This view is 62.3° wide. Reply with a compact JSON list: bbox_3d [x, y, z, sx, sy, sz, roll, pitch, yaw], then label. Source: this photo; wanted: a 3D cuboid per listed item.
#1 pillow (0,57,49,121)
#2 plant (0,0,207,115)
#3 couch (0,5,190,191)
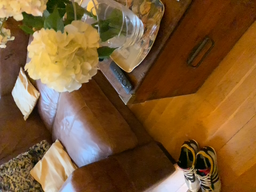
[{"bbox_3d":[-0.830,-0.050,1.660,0.360,0.110,0.340,48,128,7],"label":"pillow"},{"bbox_3d":[-0.140,-0.240,0.530,0.400,0.430,0.330,51,128,28],"label":"plant"},{"bbox_3d":[-0.570,0.180,1.530,1.610,0.740,0.910,49,127,29],"label":"couch"}]
